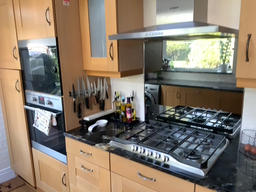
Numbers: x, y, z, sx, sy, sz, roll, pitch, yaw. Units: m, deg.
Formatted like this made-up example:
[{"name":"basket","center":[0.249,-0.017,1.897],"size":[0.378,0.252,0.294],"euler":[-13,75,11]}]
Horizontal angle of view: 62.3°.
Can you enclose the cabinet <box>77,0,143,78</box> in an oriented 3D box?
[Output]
[{"name":"cabinet","center":[-0.140,-0.590,1.760],"size":[0.410,0.810,0.350],"euler":[8,16,36]}]
